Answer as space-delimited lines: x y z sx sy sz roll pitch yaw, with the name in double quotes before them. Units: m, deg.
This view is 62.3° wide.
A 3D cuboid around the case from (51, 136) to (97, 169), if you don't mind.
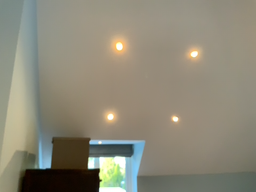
"case" -0.560 0.600 2.230 0.410 0.300 0.410 3 -18 -13
